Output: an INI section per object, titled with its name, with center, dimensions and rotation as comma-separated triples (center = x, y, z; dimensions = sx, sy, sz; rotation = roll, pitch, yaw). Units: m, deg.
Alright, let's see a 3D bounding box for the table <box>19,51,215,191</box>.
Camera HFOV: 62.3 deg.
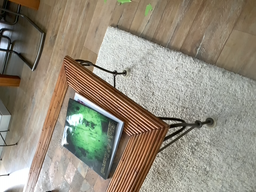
[table]
center = -0.180, 0.470, 1.100
dimensions = 0.610, 0.420, 1.180
rotation = 34, 110, 35
